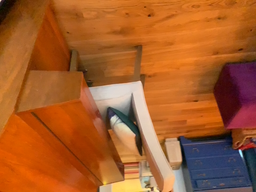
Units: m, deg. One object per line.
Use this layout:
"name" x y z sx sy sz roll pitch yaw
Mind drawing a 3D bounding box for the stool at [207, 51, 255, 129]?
"stool" 1.020 -0.040 1.830 0.440 0.440 0.500 -7 147 3

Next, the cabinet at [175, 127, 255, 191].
"cabinet" 1.190 1.040 2.960 0.820 1.000 0.510 -6 147 3
